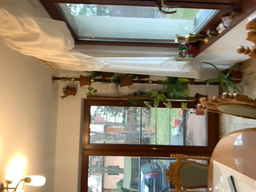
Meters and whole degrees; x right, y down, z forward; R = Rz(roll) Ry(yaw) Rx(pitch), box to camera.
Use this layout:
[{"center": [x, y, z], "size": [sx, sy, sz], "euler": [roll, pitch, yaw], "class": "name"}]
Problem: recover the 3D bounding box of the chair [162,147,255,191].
[{"center": [0.930, 0.800, 1.960], "size": [0.570, 1.110, 0.500], "euler": [167, 105, -87], "class": "chair"}]
